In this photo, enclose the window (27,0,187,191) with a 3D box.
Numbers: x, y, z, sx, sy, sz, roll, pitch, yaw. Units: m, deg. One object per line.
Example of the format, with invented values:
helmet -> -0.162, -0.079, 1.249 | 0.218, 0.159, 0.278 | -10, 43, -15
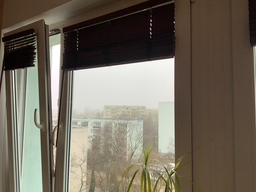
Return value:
window -> -0.150, 0.150, 1.110 | 0.850, 1.460, 0.210 | -1, -4, 31
